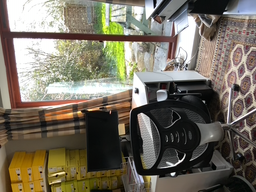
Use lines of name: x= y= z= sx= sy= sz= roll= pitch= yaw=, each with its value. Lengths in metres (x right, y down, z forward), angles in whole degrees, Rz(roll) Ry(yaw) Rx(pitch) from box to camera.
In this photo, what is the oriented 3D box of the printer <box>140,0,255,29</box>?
printer: x=0.590 y=-0.780 z=1.660 sx=0.590 sy=0.820 sz=0.420 roll=-125 pitch=36 yaw=-64
